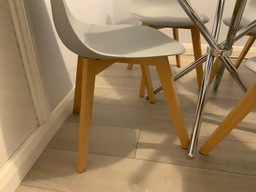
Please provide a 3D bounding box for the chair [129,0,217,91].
[{"bbox_3d":[0.250,-0.500,1.410,0.420,0.790,0.450,-3,30,-7],"label":"chair"}]
